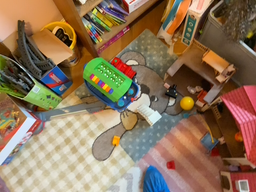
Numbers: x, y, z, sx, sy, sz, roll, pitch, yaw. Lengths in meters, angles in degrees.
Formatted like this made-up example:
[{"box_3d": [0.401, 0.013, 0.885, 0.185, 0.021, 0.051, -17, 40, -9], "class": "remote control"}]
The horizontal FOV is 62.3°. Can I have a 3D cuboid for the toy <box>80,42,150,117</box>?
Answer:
[{"box_3d": [-0.060, -0.080, 1.130, 0.230, 0.210, 0.260, -42, 75, -9], "class": "toy"}]

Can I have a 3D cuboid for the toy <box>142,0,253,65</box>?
[{"box_3d": [0.420, -0.550, 1.170, 0.620, 0.350, 0.330, -41, 75, -9], "class": "toy"}]

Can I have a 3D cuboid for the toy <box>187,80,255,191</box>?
[{"box_3d": [0.520, 0.220, 0.910, 0.280, 0.350, 0.460, -21, 73, -3], "class": "toy"}]

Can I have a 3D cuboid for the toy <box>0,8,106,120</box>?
[{"box_3d": [-0.410, -0.160, 1.140, 0.430, 0.260, 0.330, -41, 75, -9], "class": "toy"}]
